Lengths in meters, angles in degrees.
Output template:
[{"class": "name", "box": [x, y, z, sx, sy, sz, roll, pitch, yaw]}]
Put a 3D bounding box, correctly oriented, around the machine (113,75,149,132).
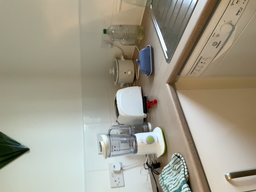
[{"class": "machine", "box": [0.010, 0.050, 1.480, 0.230, 0.160, 0.320, 108, 156, -54]}]
